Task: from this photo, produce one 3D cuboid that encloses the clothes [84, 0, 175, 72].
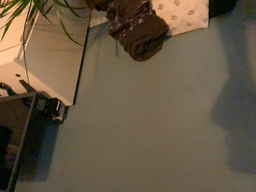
[{"bbox_3d":[0.020,-0.310,1.040,0.320,0.170,0.310,-13,147,25],"label":"clothes"}]
